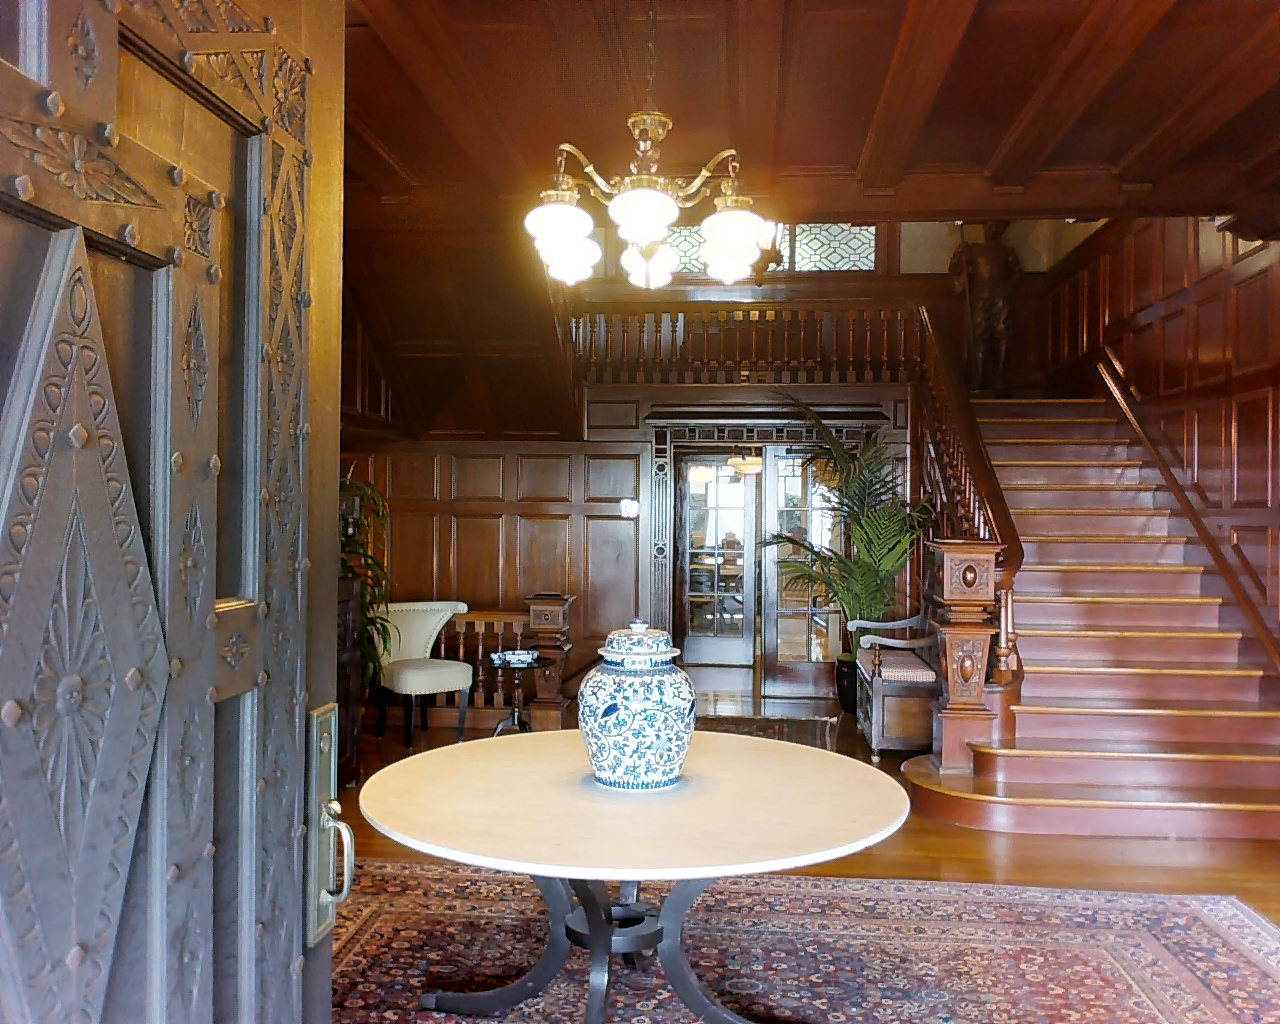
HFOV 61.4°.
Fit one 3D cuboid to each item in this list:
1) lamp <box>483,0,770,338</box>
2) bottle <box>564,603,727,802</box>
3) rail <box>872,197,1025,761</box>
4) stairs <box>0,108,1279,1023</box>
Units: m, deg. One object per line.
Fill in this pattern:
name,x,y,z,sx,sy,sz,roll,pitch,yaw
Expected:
lamp,0.030,-1.130,3.170,0.680,0.710,1.100,1,45,6
bottle,0.010,0.540,3.170,0.440,0.500,0.470,1,0,-1
rail,2.010,-0.180,7.400,0.480,3.080,2.990,1,0,6
stairs,-0.640,0.000,2.620,4.150,0.570,1.440,33,3,5
